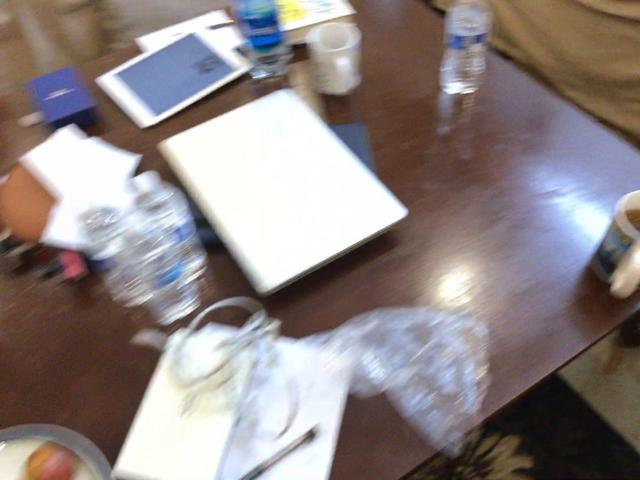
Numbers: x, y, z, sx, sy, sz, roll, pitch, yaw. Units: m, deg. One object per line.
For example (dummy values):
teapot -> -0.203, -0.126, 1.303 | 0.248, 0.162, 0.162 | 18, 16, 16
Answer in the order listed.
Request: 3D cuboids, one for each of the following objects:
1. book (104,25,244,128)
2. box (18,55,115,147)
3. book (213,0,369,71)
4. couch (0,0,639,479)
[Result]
book -> -0.280, -0.320, 1.110 | 0.200, 0.030, 0.180 | -33, 59, -19
box -> -0.470, -0.260, 1.070 | 0.110, 0.050, 0.160 | -30, 58, -17
book -> -0.060, -0.470, 1.190 | 0.240, 0.050, 0.210 | -30, 58, -18
couch -> -0.080, -0.320, 1.270 | 2.540, 0.540, 1.390 | -30, 58, -17
